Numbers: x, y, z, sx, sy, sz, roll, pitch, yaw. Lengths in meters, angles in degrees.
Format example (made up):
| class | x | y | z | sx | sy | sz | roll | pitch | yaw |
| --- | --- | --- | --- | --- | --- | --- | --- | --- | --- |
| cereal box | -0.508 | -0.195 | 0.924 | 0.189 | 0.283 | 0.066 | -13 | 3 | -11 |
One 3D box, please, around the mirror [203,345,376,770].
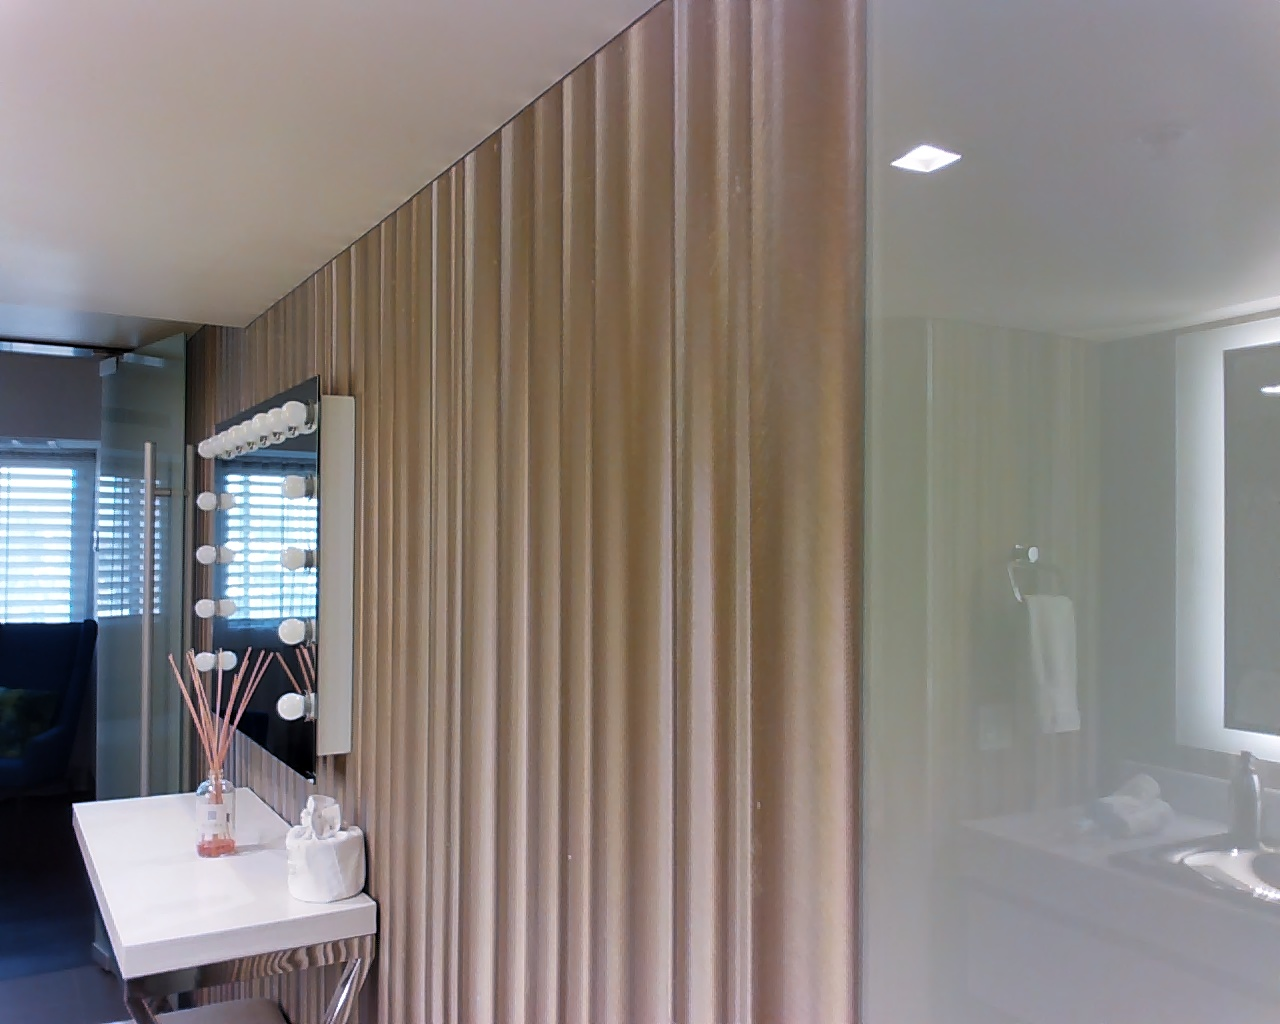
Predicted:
| class | x | y | z | sx | sy | sz | roll | pitch | yaw |
| --- | --- | --- | --- | --- | --- | --- | --- | --- | --- |
| mirror | -0.830 | 0.090 | 2.450 | 0.140 | 0.780 | 1.020 | 1 | -1 | -31 |
